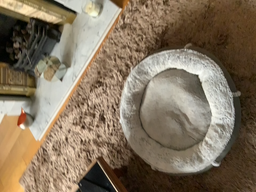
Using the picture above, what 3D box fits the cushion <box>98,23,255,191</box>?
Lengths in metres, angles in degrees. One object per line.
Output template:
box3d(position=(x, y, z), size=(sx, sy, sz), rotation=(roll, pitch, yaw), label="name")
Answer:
box3d(position=(0.220, 0.040, 1.150), size=(0.680, 0.120, 0.710), rotation=(26, 102, 31), label="cushion")
